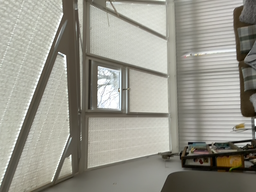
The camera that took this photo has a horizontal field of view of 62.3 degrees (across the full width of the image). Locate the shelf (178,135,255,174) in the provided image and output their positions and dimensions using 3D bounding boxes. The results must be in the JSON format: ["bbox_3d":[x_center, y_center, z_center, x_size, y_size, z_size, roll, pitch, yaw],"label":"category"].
[{"bbox_3d":[1.620,0.880,3.390,1.260,1.530,0.390,22,-113,-73],"label":"shelf"}]
